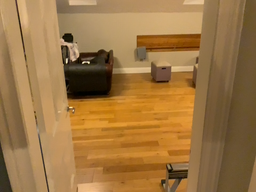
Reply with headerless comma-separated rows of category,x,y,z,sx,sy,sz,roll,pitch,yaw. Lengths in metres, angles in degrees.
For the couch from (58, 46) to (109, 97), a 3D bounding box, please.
couch,-0.980,-0.730,5.350,0.980,0.780,2.170,-2,20,-4
